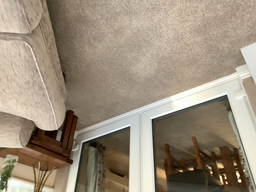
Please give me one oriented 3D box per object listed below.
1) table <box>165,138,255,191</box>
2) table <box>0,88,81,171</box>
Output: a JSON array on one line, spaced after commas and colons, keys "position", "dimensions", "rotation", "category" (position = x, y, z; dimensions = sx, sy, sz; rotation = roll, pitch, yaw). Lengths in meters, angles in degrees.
[{"position": [1.310, 1.300, 2.920], "dimensions": [0.890, 0.740, 1.510], "rotation": [-24, 136, 30], "category": "table"}, {"position": [-0.830, 0.340, 1.960], "dimensions": [0.440, 0.480, 0.560], "rotation": [-22, 137, 29], "category": "table"}]
